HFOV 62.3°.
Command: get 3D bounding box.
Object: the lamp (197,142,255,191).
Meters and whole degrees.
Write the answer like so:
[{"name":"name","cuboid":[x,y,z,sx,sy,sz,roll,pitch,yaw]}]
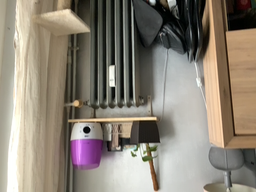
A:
[{"name":"lamp","cuboid":[0.570,0.500,1.220,0.280,0.440,0.280,-3,172,13]}]
